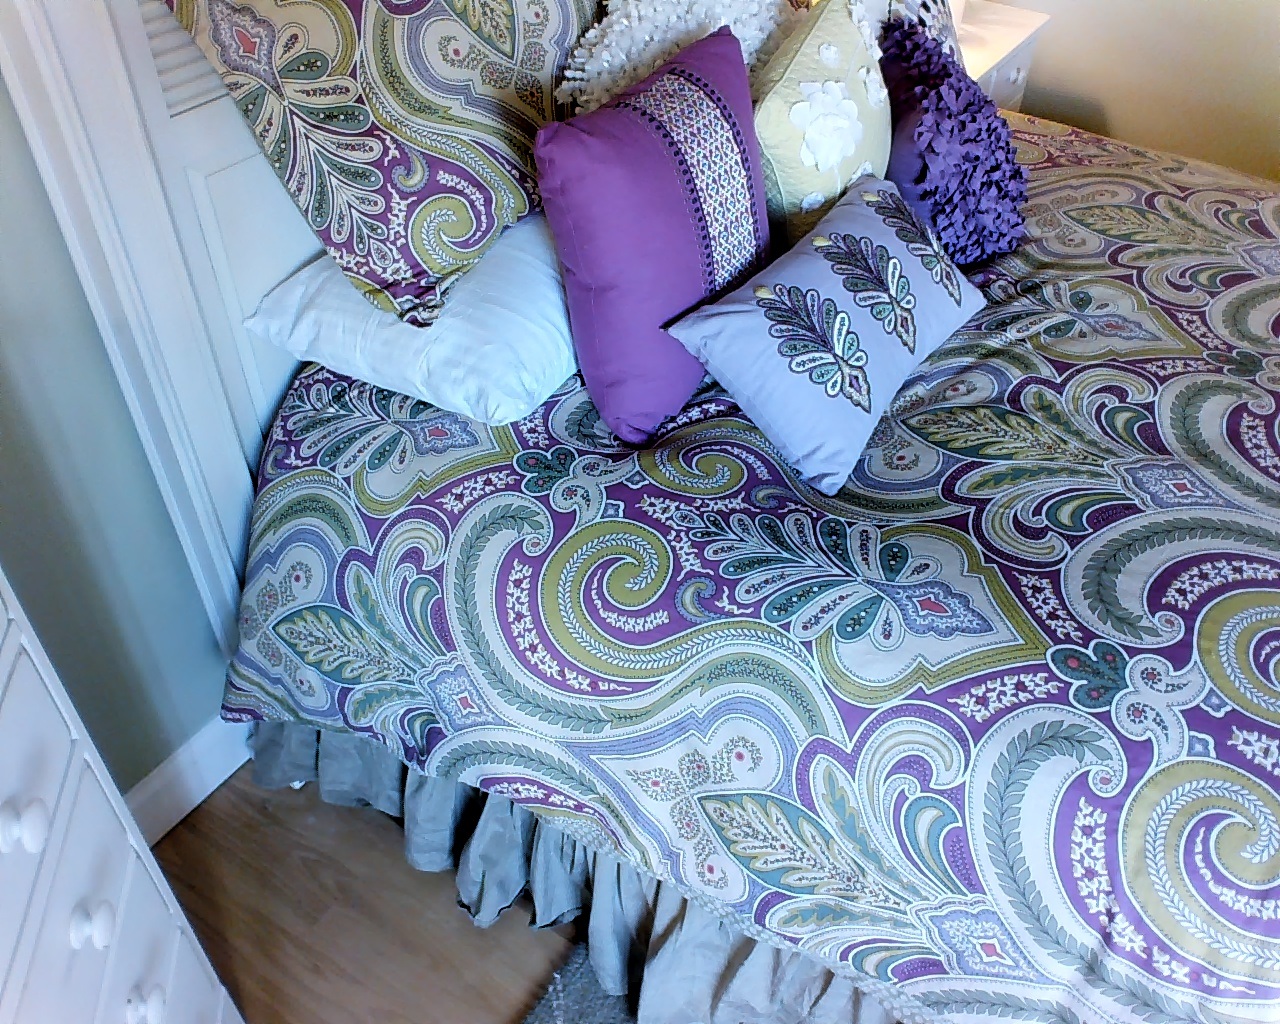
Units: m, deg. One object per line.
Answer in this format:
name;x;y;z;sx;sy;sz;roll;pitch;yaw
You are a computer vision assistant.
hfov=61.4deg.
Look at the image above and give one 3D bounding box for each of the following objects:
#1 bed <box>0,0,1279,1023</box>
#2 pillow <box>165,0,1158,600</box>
bed;0.750;-0.210;1.400;2.310;1.670;1.830;24;47;23
pillow;0.180;-0.630;1.530;0.770;0.560;1.330;24;47;23
